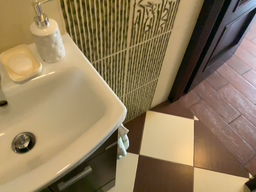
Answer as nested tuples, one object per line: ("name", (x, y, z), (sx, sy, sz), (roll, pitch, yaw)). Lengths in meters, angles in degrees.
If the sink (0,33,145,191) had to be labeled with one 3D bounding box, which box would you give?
("sink", (-0.290, 0.080, 0.540), (0.530, 0.130, 0.380), (-27, 61, -22))
